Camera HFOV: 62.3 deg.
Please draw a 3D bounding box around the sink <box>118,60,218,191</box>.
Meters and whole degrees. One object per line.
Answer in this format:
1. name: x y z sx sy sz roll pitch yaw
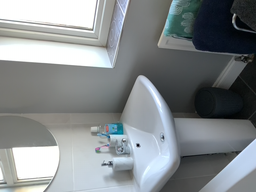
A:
1. sink: 0.150 0.190 1.220 0.630 0.190 0.490 -108 28 -43
